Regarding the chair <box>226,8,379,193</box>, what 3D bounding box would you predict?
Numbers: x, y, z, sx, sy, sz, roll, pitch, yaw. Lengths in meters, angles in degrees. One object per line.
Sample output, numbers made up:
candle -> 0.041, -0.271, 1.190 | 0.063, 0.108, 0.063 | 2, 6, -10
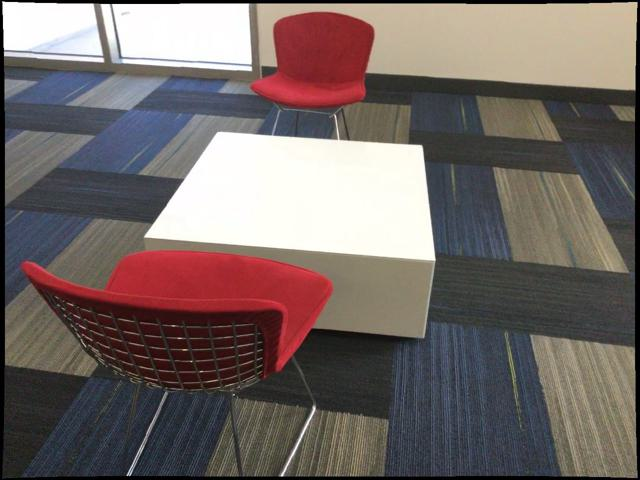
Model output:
chair -> -0.050, -0.722, 2.910 | 0.618, 0.711, 0.640 | 4, 34, 7

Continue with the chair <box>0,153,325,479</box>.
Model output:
chair -> -0.309, 0.261, 1.380 | 0.549, 0.721, 0.560 | 6, 34, 9
